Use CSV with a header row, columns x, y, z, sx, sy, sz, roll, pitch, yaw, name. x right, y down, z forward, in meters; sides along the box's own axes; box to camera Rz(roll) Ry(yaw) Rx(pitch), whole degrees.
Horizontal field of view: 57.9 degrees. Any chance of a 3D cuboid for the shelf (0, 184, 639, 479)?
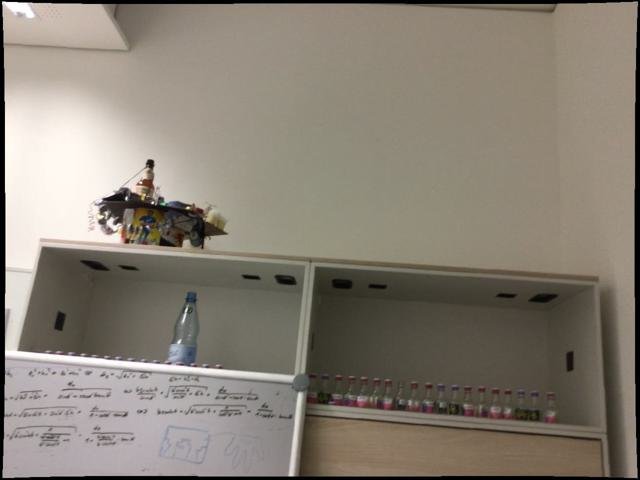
x,y,z,sx,sy,sz,roll,pitch,yaw,name
-0.110,1.021,1.470,1.648,2.222,0.580,2,-16,8,shelf
